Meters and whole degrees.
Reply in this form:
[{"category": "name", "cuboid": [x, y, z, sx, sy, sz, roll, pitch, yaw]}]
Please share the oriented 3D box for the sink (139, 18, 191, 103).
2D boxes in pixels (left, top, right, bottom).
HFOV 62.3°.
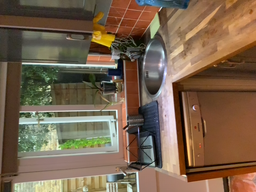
[{"category": "sink", "cuboid": [0.250, -0.230, 1.610, 0.480, 0.170, 0.500, 150, 120, -71]}]
